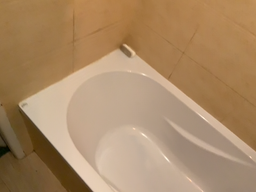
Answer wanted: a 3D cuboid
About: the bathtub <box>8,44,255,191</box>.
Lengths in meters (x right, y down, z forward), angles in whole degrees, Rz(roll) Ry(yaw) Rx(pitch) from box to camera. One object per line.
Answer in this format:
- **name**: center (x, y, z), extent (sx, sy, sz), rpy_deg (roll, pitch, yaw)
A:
- **bathtub**: center (0.160, 0.480, 1.120), extent (1.400, 0.570, 0.710), rpy_deg (43, 55, 16)
